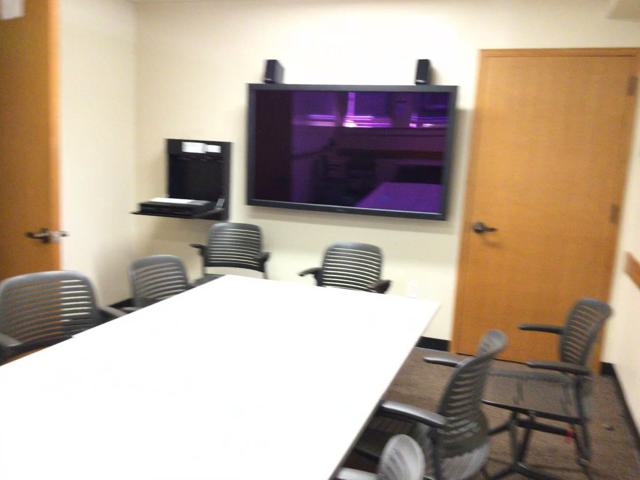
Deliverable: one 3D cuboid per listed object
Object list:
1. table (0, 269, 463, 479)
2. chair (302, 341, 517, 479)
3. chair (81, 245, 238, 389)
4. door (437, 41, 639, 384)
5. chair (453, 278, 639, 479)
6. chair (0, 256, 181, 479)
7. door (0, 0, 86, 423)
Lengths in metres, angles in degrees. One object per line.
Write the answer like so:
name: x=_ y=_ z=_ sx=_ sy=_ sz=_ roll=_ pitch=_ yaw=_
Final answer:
table: x=-0.390 y=0.770 z=2.050 sx=1.410 sy=0.780 sz=2.430 roll=7 pitch=9 yaw=19
chair: x=0.330 y=0.790 z=2.010 sx=0.590 sy=0.620 sz=0.650 roll=7 pitch=9 yaw=19
chair: x=-0.770 y=0.340 z=2.860 sx=0.460 sy=0.510 sz=0.620 roll=7 pitch=9 yaw=20
door: x=1.410 y=-0.190 z=3.710 sx=1.090 sy=2.070 sz=0.130 roll=7 pitch=9 yaw=20
chair: x=0.920 y=0.680 z=2.430 sx=0.580 sy=0.880 sz=0.600 roll=7 pitch=9 yaw=19
chair: x=-1.060 y=0.540 z=2.450 sx=0.620 sy=0.800 sz=0.640 roll=9 pitch=10 yaw=34
door: x=-1.620 y=-0.170 z=3.100 sx=0.830 sy=2.070 sz=0.270 roll=10 pitch=10 yaw=36
